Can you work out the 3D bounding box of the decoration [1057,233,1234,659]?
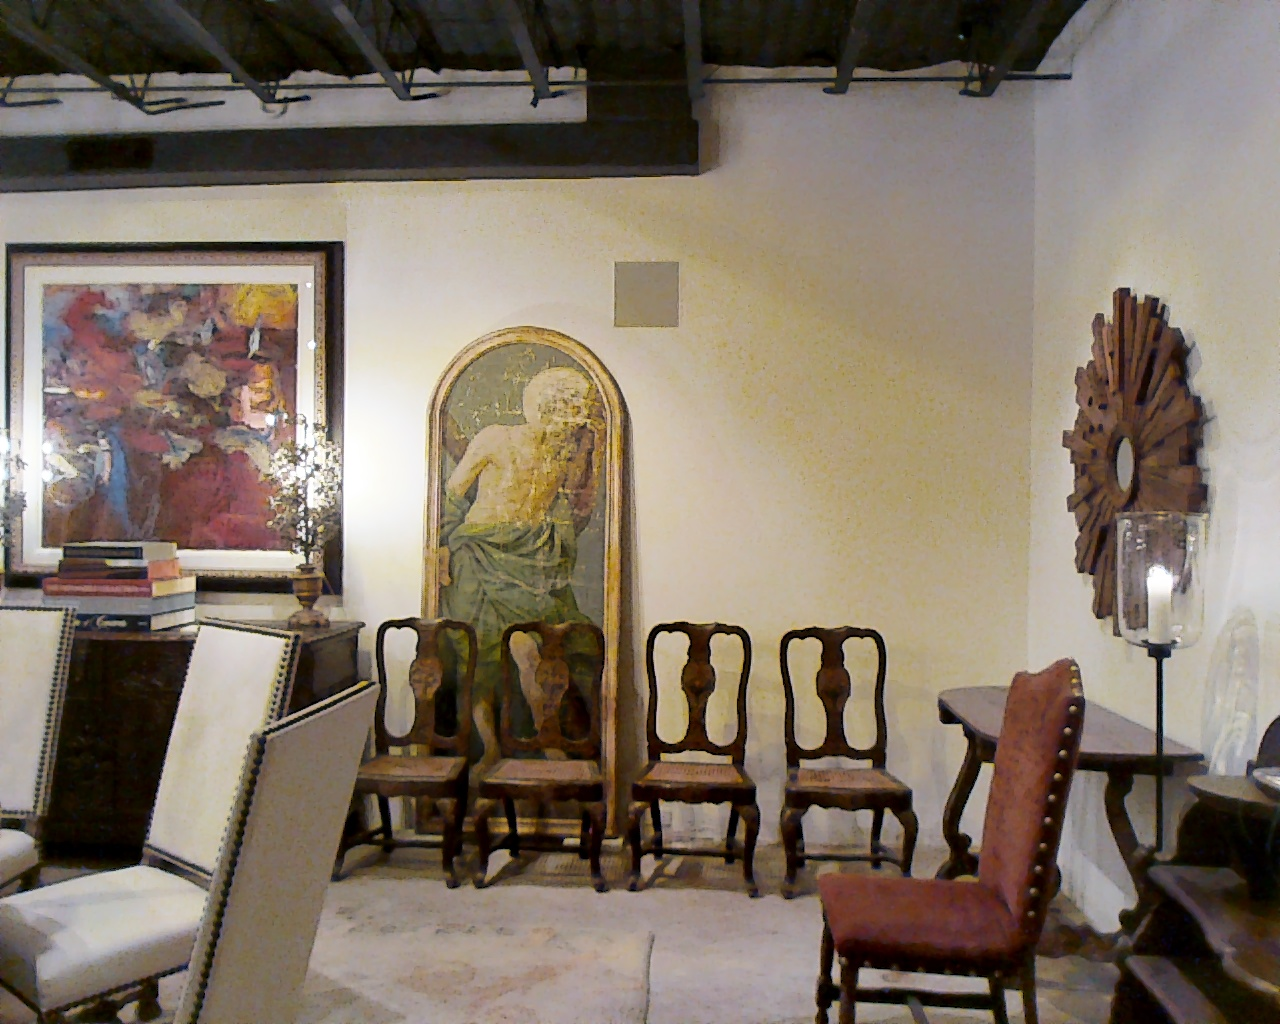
[{"bbox_3d":[1.670,-0.190,3.650,0.090,1.210,1.200,1,0,3],"label":"decoration"}]
